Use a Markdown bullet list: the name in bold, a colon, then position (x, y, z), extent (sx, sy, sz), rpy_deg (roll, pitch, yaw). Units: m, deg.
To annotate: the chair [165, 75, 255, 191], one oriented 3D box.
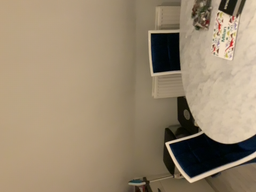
- **chair**: position (0.810, 0.220, 1.500), extent (0.460, 0.930, 0.570), rpy_deg (-115, 23, -59)
